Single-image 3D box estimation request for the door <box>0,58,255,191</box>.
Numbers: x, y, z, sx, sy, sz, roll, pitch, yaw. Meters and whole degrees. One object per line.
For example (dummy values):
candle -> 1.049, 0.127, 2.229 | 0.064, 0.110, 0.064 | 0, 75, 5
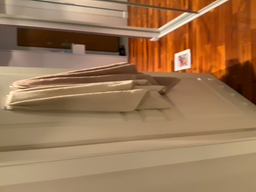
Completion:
door -> -0.080, 0.040, 1.340 | 0.980, 1.900, 0.150 | -122, 37, -54
